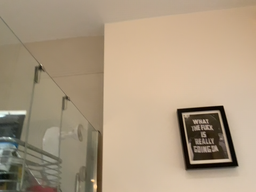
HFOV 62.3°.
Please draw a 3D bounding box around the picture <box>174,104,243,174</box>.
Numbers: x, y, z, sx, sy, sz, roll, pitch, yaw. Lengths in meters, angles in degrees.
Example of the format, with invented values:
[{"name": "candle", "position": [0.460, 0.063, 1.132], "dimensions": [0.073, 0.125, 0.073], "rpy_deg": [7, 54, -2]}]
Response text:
[{"name": "picture", "position": [0.330, 0.180, 0.910], "dimensions": [0.220, 0.280, 0.050], "rpy_deg": [-5, -26, 5]}]
